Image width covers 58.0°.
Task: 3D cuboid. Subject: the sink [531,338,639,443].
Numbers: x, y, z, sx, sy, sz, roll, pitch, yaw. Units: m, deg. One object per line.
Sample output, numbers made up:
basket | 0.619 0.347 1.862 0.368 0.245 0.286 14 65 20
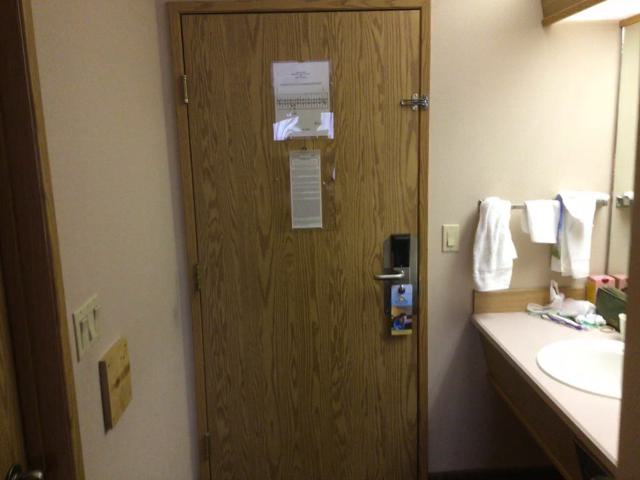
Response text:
sink | 0.960 0.440 1.760 0.450 0.170 0.450 1 5 -2
